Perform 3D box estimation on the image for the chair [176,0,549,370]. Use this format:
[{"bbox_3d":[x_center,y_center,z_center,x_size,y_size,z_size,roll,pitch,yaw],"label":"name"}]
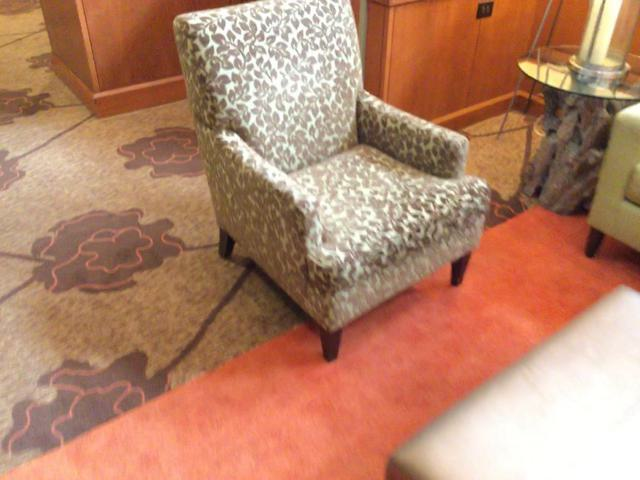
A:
[{"bbox_3d":[0.080,-0.310,2.040,0.760,0.950,0.900,-19,40,-24],"label":"chair"}]
